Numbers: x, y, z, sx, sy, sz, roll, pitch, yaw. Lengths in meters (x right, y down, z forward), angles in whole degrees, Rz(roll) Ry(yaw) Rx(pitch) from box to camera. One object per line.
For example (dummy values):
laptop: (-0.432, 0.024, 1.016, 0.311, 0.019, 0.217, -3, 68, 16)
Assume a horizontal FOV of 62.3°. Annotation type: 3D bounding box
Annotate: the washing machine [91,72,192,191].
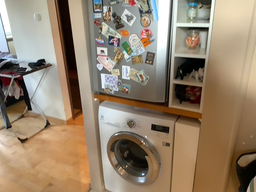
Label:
washing machine: (0.150, 0.350, 1.840, 0.600, 0.930, 0.610, 9, 26, 23)
